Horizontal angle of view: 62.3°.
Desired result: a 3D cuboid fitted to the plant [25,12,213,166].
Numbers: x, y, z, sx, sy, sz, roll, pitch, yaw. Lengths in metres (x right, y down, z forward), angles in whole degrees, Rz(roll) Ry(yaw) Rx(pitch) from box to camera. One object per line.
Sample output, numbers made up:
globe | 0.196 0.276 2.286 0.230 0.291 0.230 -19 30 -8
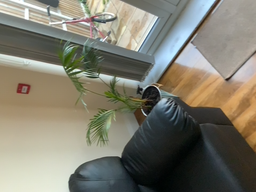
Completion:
plant | -0.110 0.010 1.670 0.760 1.120 0.640 -59 40 30
